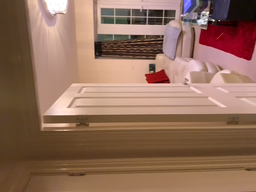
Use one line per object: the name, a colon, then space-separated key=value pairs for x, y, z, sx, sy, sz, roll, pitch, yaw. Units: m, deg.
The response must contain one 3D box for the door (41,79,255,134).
door: x=0.520 y=0.020 z=1.530 sx=0.870 sy=1.960 sz=0.080 roll=-104 pitch=15 yaw=-72
